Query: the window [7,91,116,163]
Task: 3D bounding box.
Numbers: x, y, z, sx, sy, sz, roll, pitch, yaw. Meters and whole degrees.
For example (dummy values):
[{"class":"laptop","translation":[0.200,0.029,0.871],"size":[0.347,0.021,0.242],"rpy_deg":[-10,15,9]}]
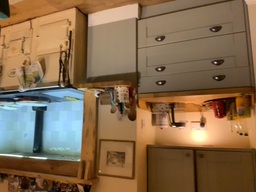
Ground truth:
[{"class":"window","translation":[-0.940,0.410,2.850],"size":[1.630,0.830,0.170],"rpy_deg":[-4,171,22]}]
